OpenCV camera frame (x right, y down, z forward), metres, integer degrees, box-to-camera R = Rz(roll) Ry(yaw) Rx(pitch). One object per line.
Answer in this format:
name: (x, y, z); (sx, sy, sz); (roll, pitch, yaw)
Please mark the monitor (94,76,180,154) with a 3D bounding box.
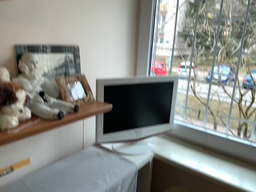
monitor: (0.060, 0.090, 1.160); (0.490, 0.380, 0.040); (-4, 17, -27)
